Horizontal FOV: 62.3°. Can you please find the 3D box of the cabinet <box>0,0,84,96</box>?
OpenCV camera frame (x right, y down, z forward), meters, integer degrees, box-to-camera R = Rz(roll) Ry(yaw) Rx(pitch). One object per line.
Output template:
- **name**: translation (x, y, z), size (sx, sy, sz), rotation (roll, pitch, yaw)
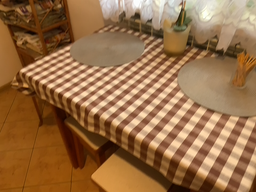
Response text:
- **cabinet**: translation (-0.780, -0.520, 1.920), size (0.510, 0.880, 0.350), rotation (26, 48, 28)
